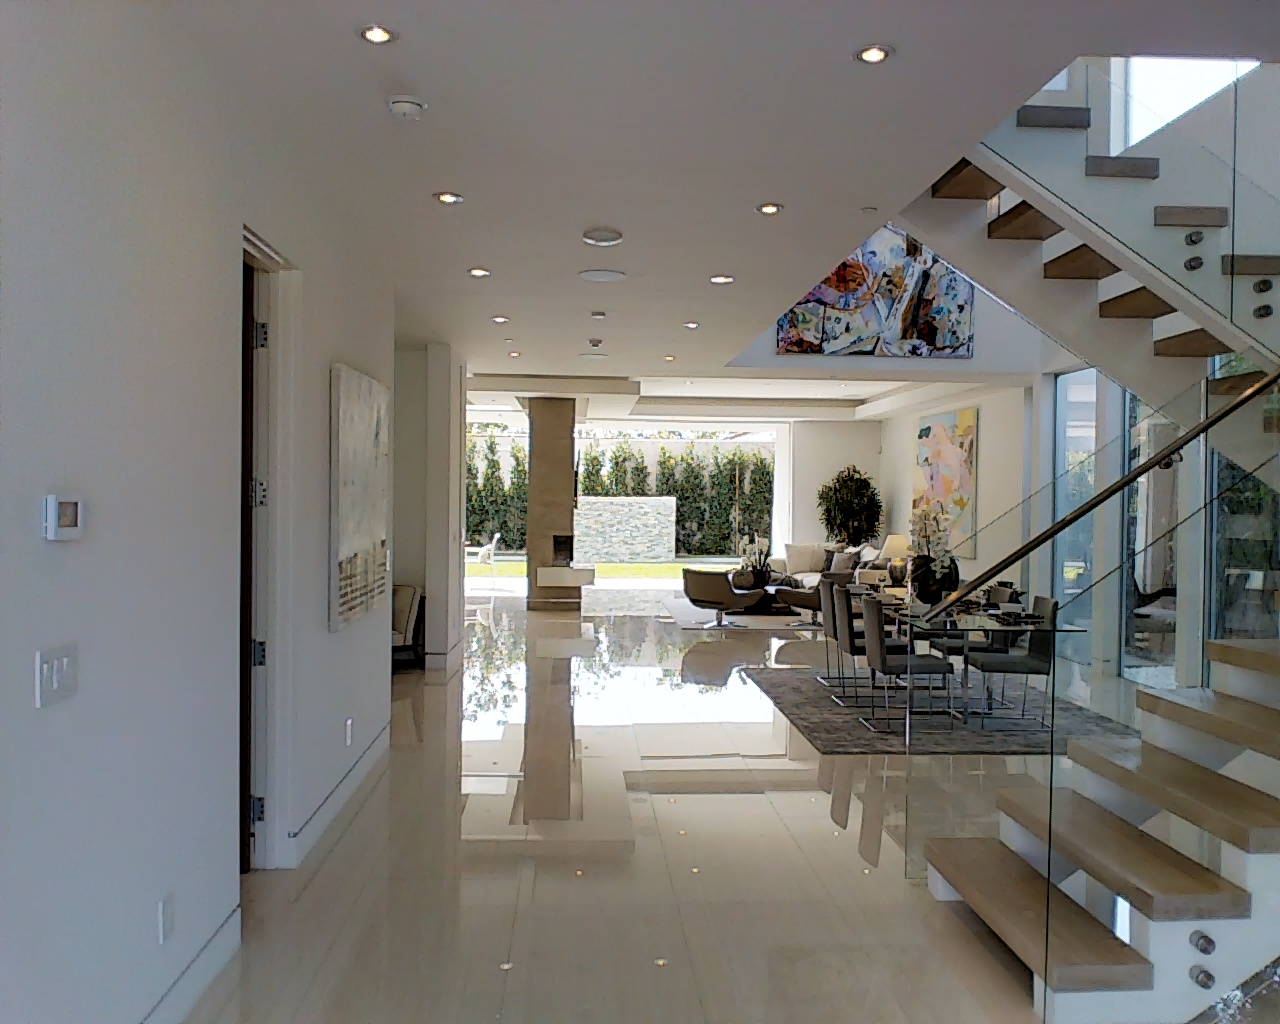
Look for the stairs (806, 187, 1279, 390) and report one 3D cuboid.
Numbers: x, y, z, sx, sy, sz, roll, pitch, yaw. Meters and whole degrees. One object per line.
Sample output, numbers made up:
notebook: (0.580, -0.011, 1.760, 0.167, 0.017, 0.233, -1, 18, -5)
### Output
stairs: (2.329, -1.050, 4.980, 2.899, 0.470, 1.160, 1, 34, -3)
